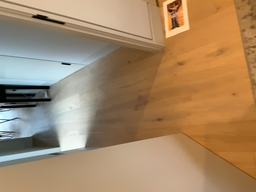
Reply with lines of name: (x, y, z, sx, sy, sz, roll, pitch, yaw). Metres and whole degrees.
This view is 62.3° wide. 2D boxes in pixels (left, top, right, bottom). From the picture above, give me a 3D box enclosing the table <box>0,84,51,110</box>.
table: (-1.920, 0.040, 3.700, 0.900, 0.800, 0.270, -16, 78, 47)
